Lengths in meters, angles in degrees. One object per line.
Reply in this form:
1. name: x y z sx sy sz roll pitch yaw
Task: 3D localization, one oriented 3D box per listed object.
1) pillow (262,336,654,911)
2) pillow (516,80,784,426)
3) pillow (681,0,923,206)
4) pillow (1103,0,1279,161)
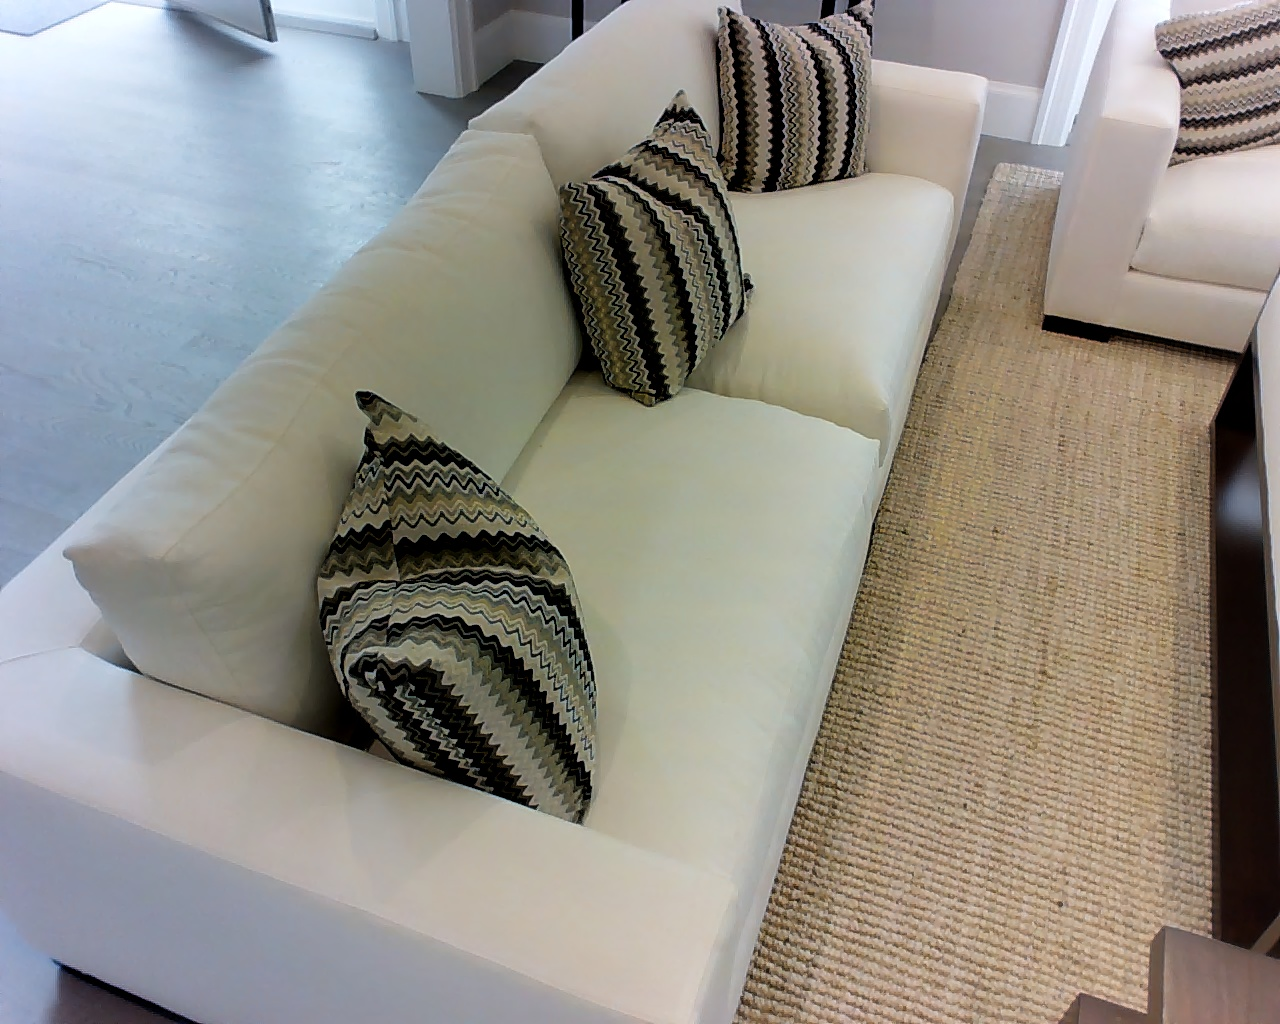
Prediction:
1. pillow: -0.220 0.110 1.270 0.350 0.390 0.490 -9 43 -11
2. pillow: 0.030 -0.480 1.940 0.310 0.380 0.490 14 43 14
3. pillow: 0.370 -0.980 2.530 0.460 0.320 0.280 -25 48 -27
4. pillow: 1.540 -1.160 2.750 0.520 0.380 0.260 -11 43 -13
